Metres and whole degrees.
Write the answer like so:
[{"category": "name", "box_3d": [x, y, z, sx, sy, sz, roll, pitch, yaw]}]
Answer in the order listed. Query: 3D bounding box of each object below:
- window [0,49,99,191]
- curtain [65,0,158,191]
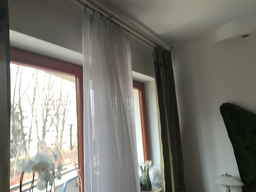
[{"category": "window", "box_3d": [-0.720, 0.430, 1.930, 0.320, 1.430, 1.000, -8, -8, 29]}, {"category": "curtain", "box_3d": [-0.070, 0.620, 1.580, 0.280, 2.590, 0.660, -9, -9, 36]}]
